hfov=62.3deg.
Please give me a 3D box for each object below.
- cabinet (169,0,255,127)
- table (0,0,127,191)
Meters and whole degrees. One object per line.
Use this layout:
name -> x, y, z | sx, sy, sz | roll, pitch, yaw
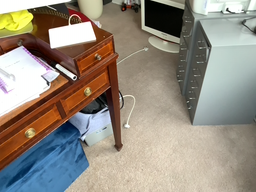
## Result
cabinet -> 0.600, -0.260, 1.490 | 0.420, 0.630, 0.670 | -5, 46, -1
table -> -0.610, 0.260, 0.940 | 0.540, 0.860, 1.150 | 31, 56, 29
